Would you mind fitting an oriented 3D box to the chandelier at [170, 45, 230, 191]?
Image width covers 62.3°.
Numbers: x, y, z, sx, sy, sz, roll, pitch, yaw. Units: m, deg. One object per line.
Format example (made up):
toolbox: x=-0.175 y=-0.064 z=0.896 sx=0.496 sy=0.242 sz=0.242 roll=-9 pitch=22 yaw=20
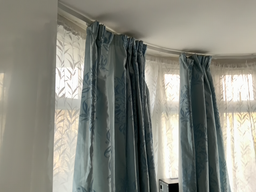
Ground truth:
chandelier: x=0.580 y=0.400 z=1.710 sx=0.380 sy=1.590 sz=0.170 roll=1 pitch=-6 yaw=-14
